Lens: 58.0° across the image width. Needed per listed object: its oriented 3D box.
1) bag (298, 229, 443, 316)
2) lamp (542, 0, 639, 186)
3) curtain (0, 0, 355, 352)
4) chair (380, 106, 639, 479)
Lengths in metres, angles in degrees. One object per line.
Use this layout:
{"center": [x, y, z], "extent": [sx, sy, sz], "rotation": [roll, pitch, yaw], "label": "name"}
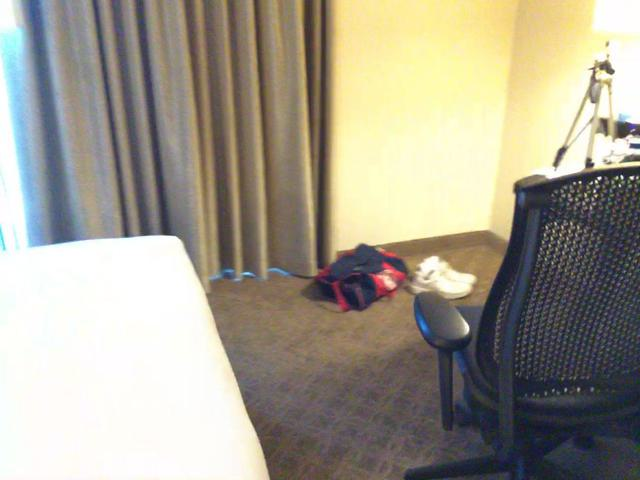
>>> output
{"center": [0.260, 0.140, 2.940], "extent": [0.510, 0.140, 0.530], "rotation": [19, 29, 39], "label": "bag"}
{"center": [1.050, -0.570, 1.990], "extent": [0.400, 0.690, 0.230], "rotation": [-8, 23, -16], "label": "lamp"}
{"center": [-1.290, -0.360, 2.390], "extent": [2.880, 1.560, 0.490], "rotation": [-8, 23, -16], "label": "curtain"}
{"center": [0.580, 0.260, 1.510], "extent": [0.660, 1.070, 0.650], "rotation": [-6, 23, -10], "label": "chair"}
